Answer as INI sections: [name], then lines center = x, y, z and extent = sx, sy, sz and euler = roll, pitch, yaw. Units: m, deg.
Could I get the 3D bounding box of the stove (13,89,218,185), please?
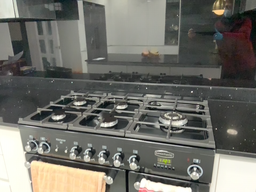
[stove]
center = -0.030, 0.150, 1.200
extent = 0.920, 0.180, 0.590
euler = 4, 18, 15
